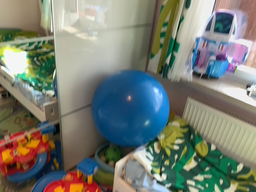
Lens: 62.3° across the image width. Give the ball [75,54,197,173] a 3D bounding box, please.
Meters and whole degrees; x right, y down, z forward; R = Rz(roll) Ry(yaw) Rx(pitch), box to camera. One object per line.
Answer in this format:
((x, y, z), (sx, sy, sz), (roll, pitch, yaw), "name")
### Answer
((0.050, 0.060, 1.610), (0.600, 0.500, 0.640), (26, 34, 30), "ball")
